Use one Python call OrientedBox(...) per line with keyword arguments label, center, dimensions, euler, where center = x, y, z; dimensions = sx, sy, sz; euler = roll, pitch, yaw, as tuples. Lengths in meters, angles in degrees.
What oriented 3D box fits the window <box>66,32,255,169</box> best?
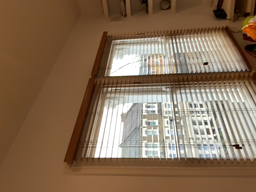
OrientedBox(label="window", center=(0.380, -0.160, 2.300), dimensions=(2.000, 1.600, 0.080), euler=(-85, -9, -48))
